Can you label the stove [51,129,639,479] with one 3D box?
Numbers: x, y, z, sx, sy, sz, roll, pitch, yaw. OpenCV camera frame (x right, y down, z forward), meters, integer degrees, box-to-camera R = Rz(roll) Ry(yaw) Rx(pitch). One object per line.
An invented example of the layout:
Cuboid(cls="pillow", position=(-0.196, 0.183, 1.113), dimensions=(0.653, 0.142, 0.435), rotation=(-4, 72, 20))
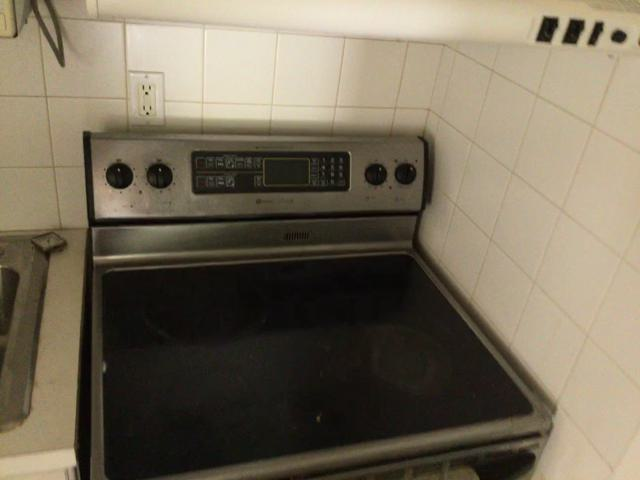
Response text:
Cuboid(cls="stove", position=(-0.060, 0.410, 1.280), dimensions=(0.820, 1.110, 0.750), rotation=(-4, 30, -19))
